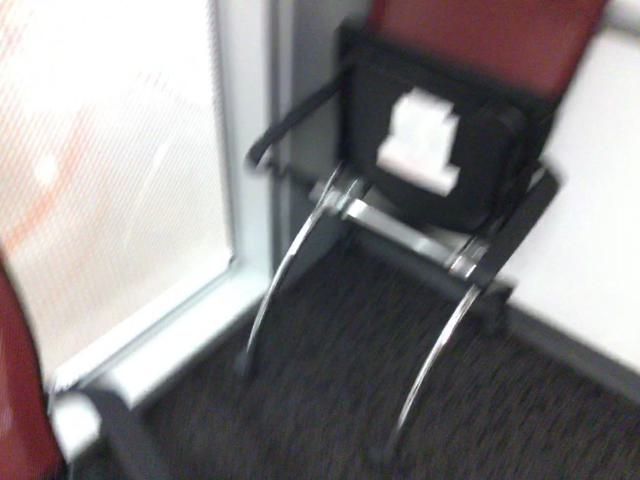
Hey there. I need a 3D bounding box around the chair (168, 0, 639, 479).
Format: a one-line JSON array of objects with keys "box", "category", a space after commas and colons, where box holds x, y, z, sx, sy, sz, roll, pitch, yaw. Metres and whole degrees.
[{"box": [0.150, -0.090, 1.230, 0.600, 0.880, 0.540, 27, 46, 27], "category": "chair"}]
